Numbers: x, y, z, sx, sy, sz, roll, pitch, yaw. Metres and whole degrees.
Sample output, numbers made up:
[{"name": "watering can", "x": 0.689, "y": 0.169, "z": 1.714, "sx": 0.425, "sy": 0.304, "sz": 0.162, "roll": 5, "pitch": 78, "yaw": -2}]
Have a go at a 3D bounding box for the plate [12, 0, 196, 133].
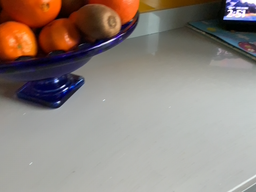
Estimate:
[{"name": "plate", "x": -0.080, "y": -0.200, "z": 0.490, "sx": 0.320, "sy": 0.370, "sz": 0.310, "roll": -17, "pitch": 41, "yaw": -22}]
